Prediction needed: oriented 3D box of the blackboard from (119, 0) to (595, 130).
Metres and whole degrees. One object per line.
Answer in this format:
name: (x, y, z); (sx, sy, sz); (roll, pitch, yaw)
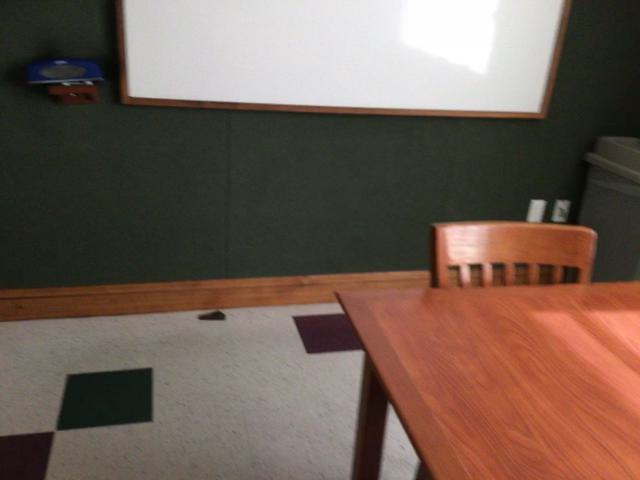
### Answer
blackboard: (0.230, -1.100, 2.180); (1.890, 1.310, 0.120); (-2, 23, -15)
